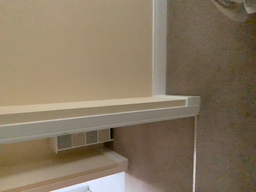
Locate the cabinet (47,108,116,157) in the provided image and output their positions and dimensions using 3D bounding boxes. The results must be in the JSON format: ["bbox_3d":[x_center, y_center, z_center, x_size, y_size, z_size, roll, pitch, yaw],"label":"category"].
[{"bbox_3d":[-0.560,0.410,2.610,0.340,0.740,0.440,4,96,57],"label":"cabinet"}]
